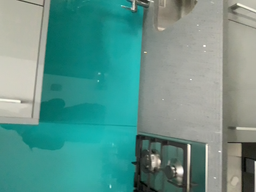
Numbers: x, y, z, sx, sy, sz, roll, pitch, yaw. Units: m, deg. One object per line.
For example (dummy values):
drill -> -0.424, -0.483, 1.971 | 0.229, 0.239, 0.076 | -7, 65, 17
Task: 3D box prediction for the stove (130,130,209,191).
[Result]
stove -> 0.140, 0.470, 0.940 | 0.540, 0.030, 0.590 | 170, 104, -65
